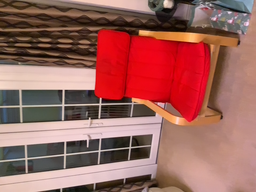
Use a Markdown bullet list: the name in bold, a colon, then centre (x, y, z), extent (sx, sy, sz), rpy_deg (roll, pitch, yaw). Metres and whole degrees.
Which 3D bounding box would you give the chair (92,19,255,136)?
- **chair**: centre (0.280, -0.210, 1.780), extent (0.820, 0.960, 0.690), rpy_deg (-137, 50, -61)
